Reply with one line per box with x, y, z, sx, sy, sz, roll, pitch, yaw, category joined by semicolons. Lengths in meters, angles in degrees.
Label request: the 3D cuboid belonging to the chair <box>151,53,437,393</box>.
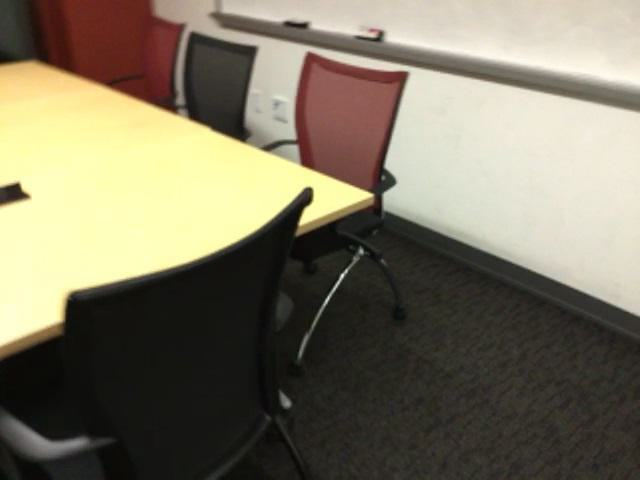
-0.090;-0.110;1.960;0.680;0.880;0.550;-18;32;-32;chair

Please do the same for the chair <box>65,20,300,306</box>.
-0.520;-0.360;2.370;0.650;0.930;0.590;-22;35;-37;chair

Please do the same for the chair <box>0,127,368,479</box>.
-0.330;0.310;1.200;0.600;0.880;0.550;-22;35;-37;chair

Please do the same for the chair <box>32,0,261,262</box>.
-0.790;-0.580;2.690;0.670;0.960;0.840;-17;32;-31;chair
